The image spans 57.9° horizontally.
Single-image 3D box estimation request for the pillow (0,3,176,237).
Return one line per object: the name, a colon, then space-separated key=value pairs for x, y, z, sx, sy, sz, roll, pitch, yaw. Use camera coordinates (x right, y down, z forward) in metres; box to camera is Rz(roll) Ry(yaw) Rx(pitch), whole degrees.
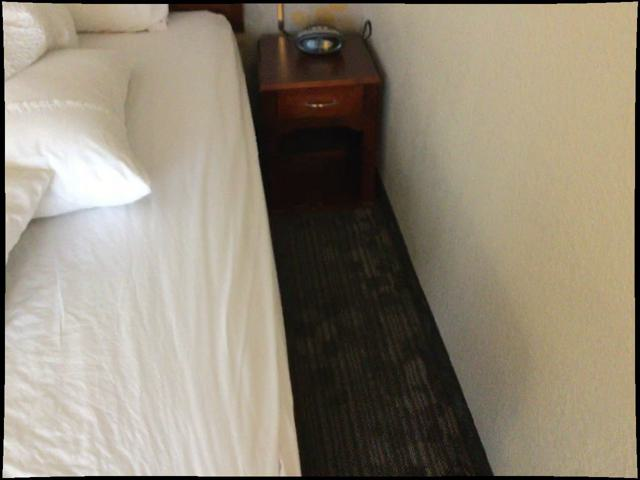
pillow: x=-0.559 y=-0.320 z=1.350 sx=0.380 sy=0.190 sz=0.700 roll=-6 pitch=42 yaw=-6
